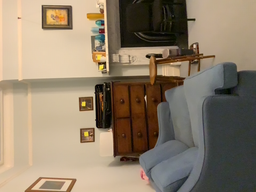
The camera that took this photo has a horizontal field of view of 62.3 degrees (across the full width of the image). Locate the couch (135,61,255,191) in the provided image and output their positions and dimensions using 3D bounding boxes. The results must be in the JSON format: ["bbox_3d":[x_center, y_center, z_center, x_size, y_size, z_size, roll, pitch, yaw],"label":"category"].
[{"bbox_3d":[0.600,0.370,2.150,1.520,0.830,1.110,141,126,-84],"label":"couch"}]
